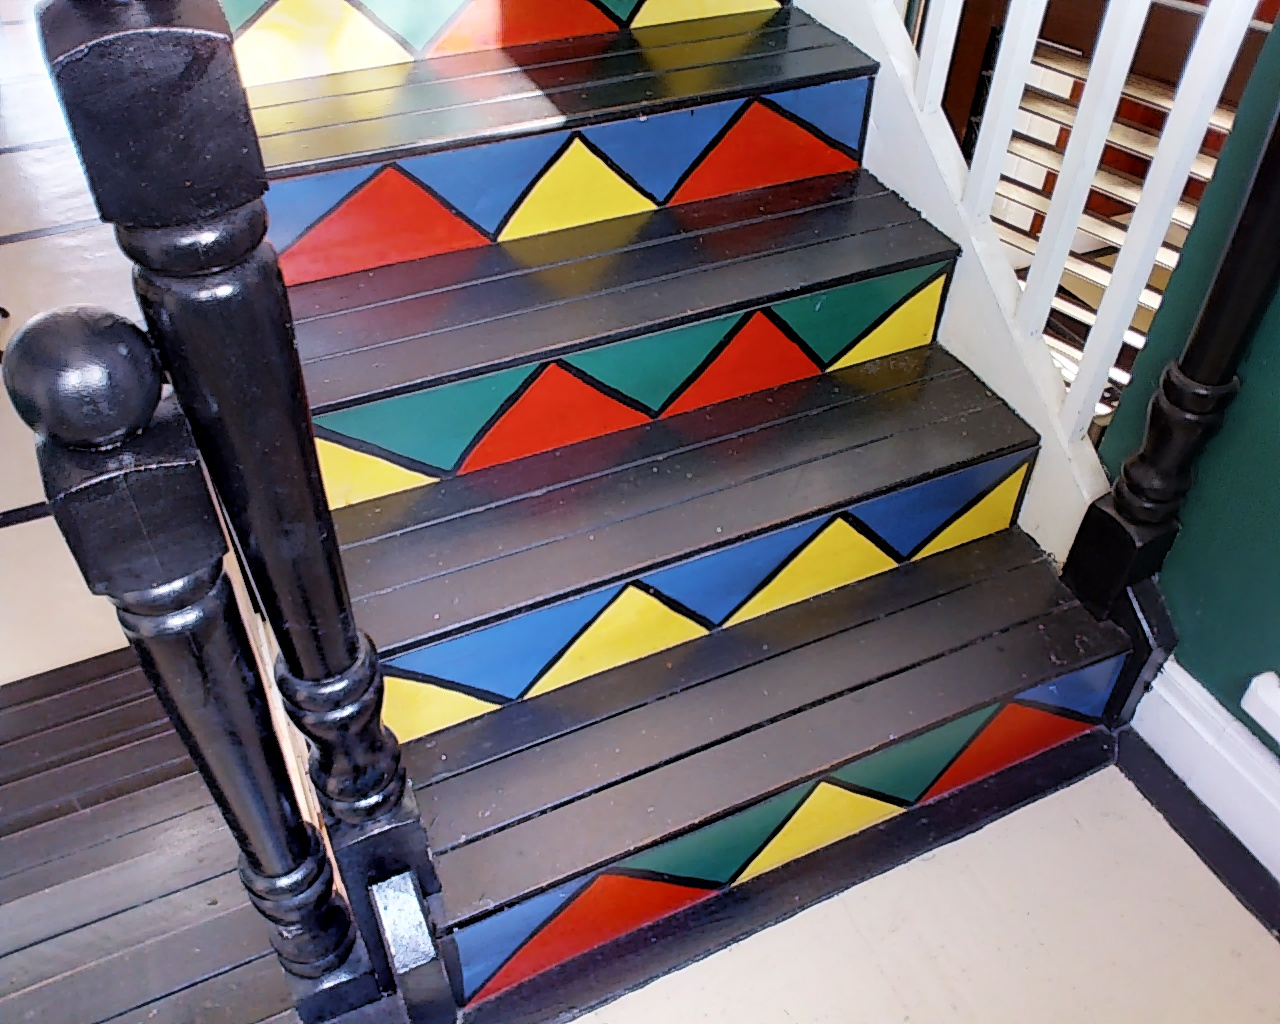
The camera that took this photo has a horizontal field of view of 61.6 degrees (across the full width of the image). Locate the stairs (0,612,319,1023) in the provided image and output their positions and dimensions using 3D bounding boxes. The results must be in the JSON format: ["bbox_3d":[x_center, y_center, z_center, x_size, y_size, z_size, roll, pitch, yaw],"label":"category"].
[{"bbox_3d":[-1.220,0.640,2.020,1.010,0.230,2.010,-17,12,-19],"label":"stairs"}]

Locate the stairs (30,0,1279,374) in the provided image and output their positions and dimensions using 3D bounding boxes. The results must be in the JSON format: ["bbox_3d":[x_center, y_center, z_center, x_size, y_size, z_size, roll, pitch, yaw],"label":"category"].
[{"bbox_3d":[-0.160,-0.560,1.600,1.150,0.380,1.760,-17,11,-20],"label":"stairs"}]
